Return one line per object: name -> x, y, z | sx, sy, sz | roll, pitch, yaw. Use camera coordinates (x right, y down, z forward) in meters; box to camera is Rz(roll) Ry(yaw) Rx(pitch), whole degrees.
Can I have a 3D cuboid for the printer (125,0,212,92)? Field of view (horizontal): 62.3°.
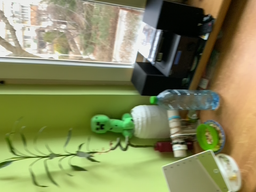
printer -> 0.170, -0.250, 1.050 | 0.250, 0.240, 0.390 | -124, 40, -53
